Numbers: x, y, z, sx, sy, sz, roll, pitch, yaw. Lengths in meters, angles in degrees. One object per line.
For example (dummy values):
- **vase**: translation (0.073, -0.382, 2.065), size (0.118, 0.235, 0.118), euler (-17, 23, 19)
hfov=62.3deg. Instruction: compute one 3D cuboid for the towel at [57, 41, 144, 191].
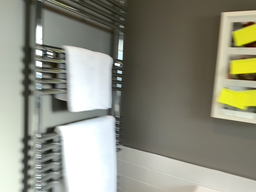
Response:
- **towel**: translation (-0.120, 0.220, 1.040), size (0.160, 0.890, 0.410), euler (7, 7, 33)
